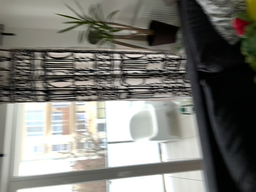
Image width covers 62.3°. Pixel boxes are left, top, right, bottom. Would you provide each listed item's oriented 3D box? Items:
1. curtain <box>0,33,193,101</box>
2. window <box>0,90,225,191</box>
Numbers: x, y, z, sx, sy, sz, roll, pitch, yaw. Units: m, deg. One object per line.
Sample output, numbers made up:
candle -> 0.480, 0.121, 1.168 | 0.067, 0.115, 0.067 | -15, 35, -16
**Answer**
curtain -> -0.450, -0.310, 2.430 | 0.360, 2.340, 0.610 | 125, 142, -67
window -> -0.110, 0.730, 2.470 | 0.180, 2.470, 1.610 | 122, 144, -65
